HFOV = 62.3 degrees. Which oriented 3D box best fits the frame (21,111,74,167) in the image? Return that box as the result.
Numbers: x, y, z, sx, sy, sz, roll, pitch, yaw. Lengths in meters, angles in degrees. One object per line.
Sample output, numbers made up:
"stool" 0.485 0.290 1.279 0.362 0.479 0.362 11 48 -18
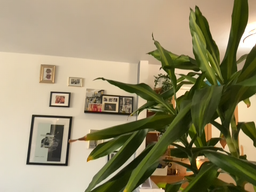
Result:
"frame" -0.880 0.480 2.360 0.490 0.580 0.050 5 -10 -8
